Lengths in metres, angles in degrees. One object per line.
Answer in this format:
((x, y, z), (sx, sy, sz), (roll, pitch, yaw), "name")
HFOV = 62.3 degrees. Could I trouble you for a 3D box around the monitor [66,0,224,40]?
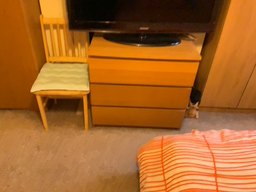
((0.150, -0.770, 1.490), (1.150, 0.740, 0.060), (-1, 38, -8), "monitor")
